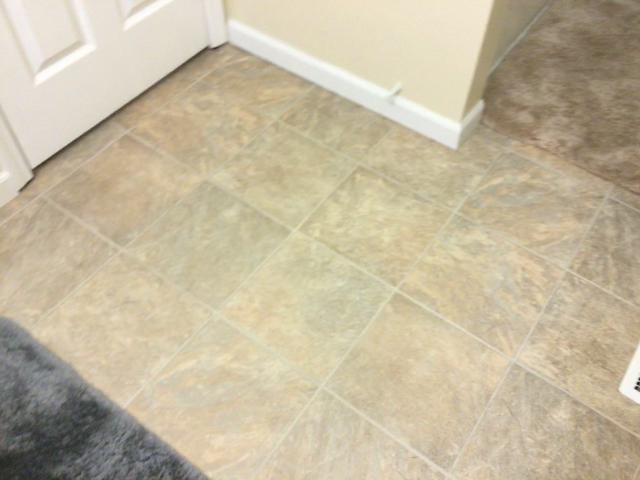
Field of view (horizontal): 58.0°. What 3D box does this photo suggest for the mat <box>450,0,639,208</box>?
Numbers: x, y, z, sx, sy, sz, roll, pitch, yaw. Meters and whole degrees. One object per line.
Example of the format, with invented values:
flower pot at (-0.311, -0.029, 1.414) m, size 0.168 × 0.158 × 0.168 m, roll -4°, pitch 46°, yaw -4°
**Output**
mat at (0.970, -0.530, 1.840) m, size 0.690 × 0.060 × 0.980 m, roll 32°, pitch 60°, yaw 22°
